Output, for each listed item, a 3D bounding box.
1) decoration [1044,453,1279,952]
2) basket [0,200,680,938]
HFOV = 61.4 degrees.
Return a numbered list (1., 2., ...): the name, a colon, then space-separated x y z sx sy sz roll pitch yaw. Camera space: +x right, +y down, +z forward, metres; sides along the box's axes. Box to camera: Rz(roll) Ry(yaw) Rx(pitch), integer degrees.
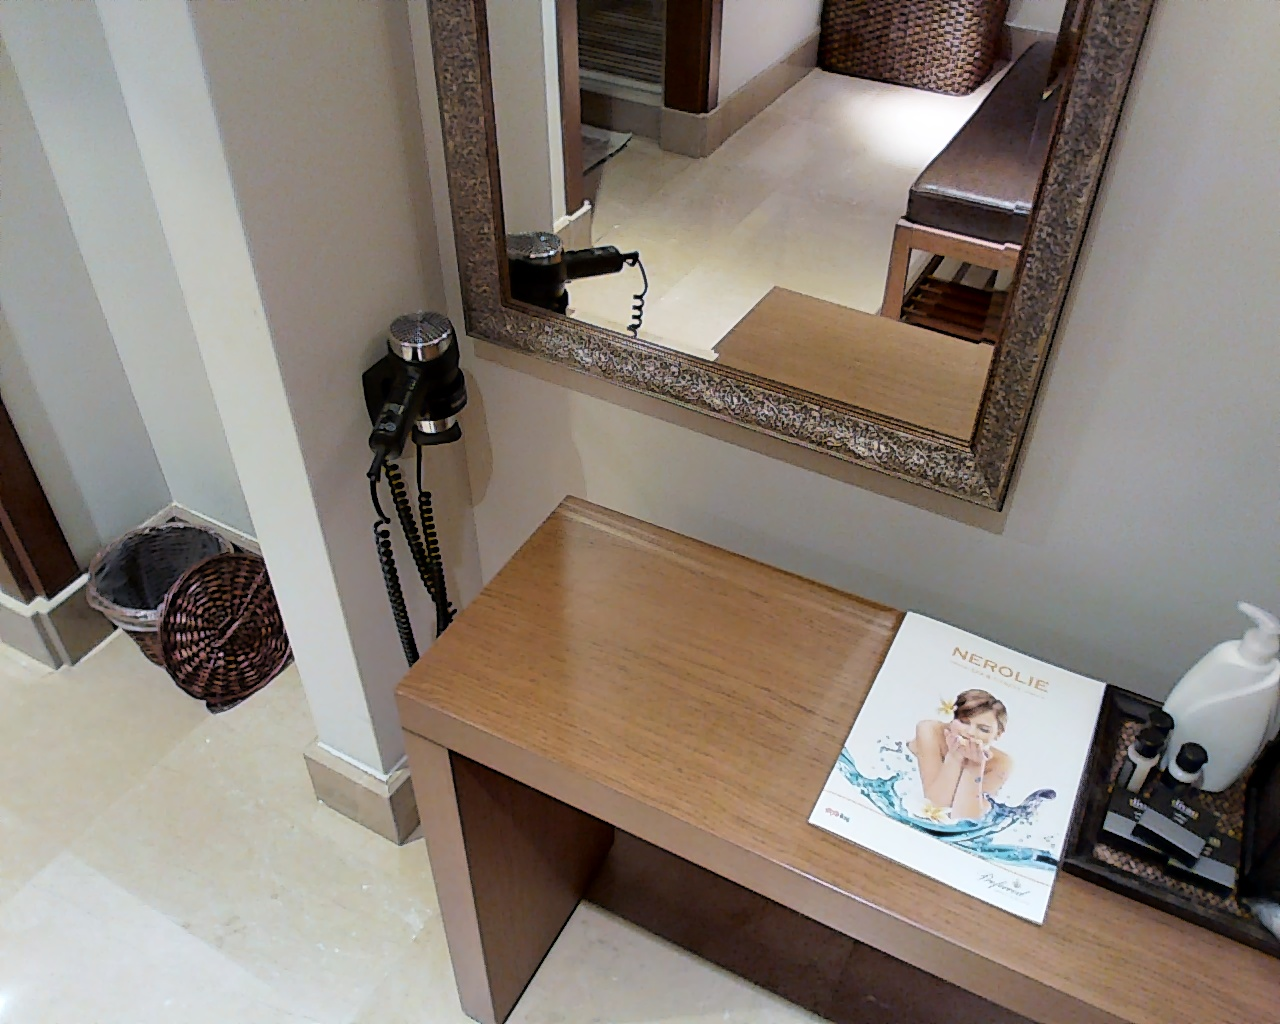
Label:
1. decoration: 0.570 0.180 0.920 0.310 0.290 0.250 21 46 22
2. basket: -0.410 0.070 1.760 0.710 0.800 0.630 21 46 22
